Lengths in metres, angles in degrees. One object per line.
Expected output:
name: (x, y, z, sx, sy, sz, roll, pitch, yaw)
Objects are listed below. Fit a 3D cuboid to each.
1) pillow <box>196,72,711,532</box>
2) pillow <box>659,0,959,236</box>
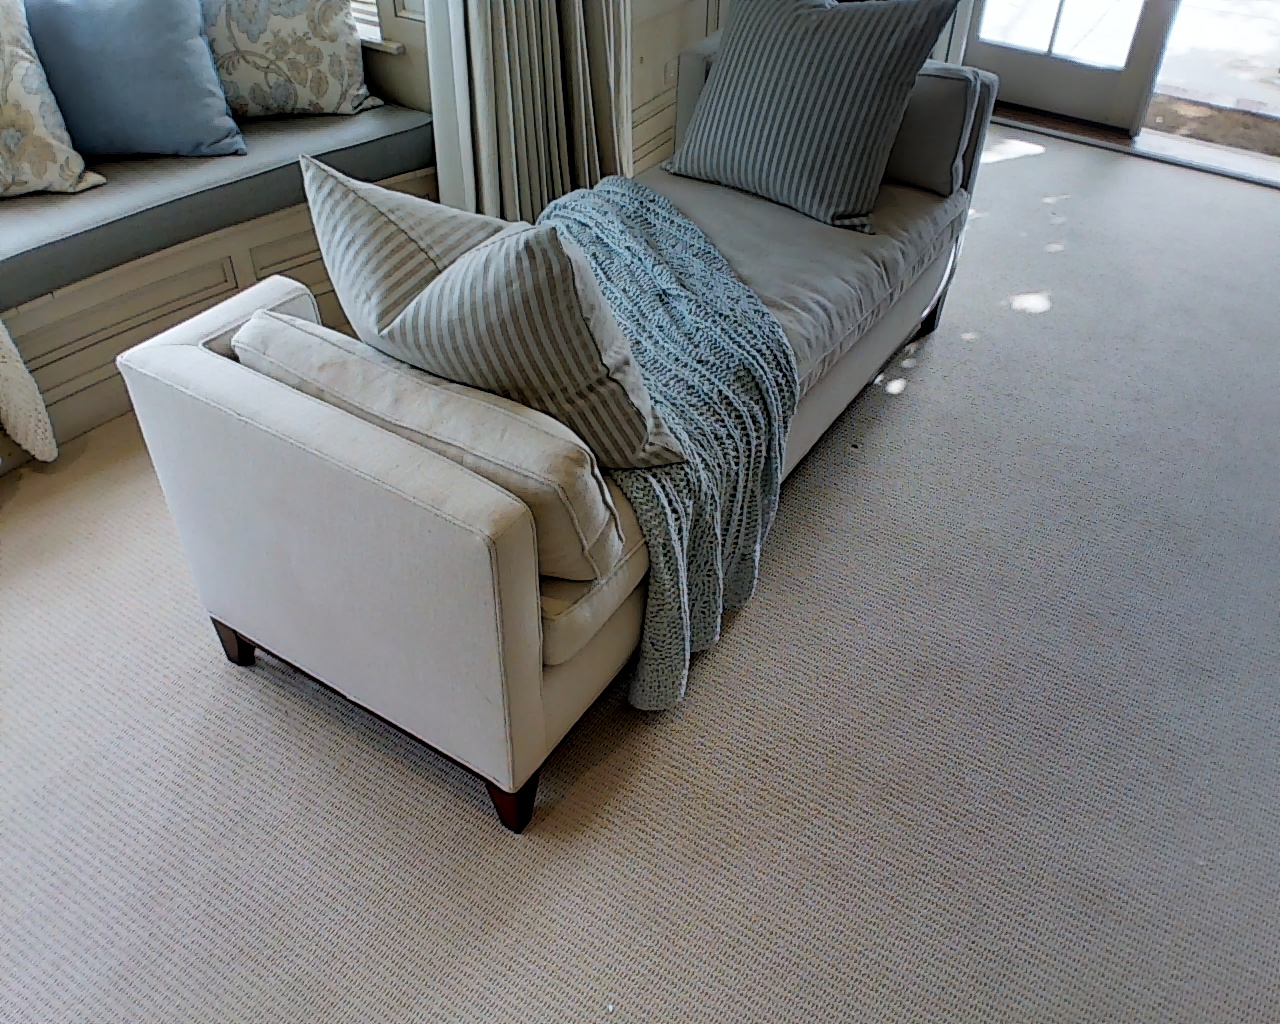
pillow: (-0.250, -0.310, 1.670, 0.560, 0.520, 0.320, 22, 72, 22)
pillow: (0.400, -0.990, 2.450, 0.540, 0.530, 0.310, 22, 71, 22)
